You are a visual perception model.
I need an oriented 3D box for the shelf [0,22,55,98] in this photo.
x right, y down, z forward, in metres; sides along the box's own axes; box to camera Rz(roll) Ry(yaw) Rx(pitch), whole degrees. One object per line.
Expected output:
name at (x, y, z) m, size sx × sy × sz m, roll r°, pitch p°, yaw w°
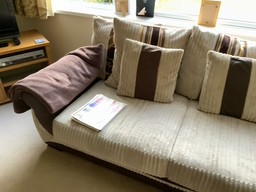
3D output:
shelf at (-1.170, -0.420, 2.310) m, size 0.490 × 0.540 × 0.610 m, roll -18°, pitch 40°, yaw -26°

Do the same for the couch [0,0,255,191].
couch at (0.380, 0.010, 1.490) m, size 2.180 × 0.880 × 1.140 m, roll 15°, pitch 37°, yaw 18°
